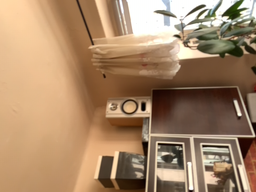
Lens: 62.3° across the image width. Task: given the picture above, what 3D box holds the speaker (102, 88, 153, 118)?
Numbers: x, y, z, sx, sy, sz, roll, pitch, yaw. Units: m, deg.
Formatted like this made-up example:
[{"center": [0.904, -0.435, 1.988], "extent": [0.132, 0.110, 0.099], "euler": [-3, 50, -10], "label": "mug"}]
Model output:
[{"center": [0.010, 0.080, 1.980], "extent": [0.340, 0.410, 0.230], "euler": [34, -125, -75], "label": "speaker"}]
